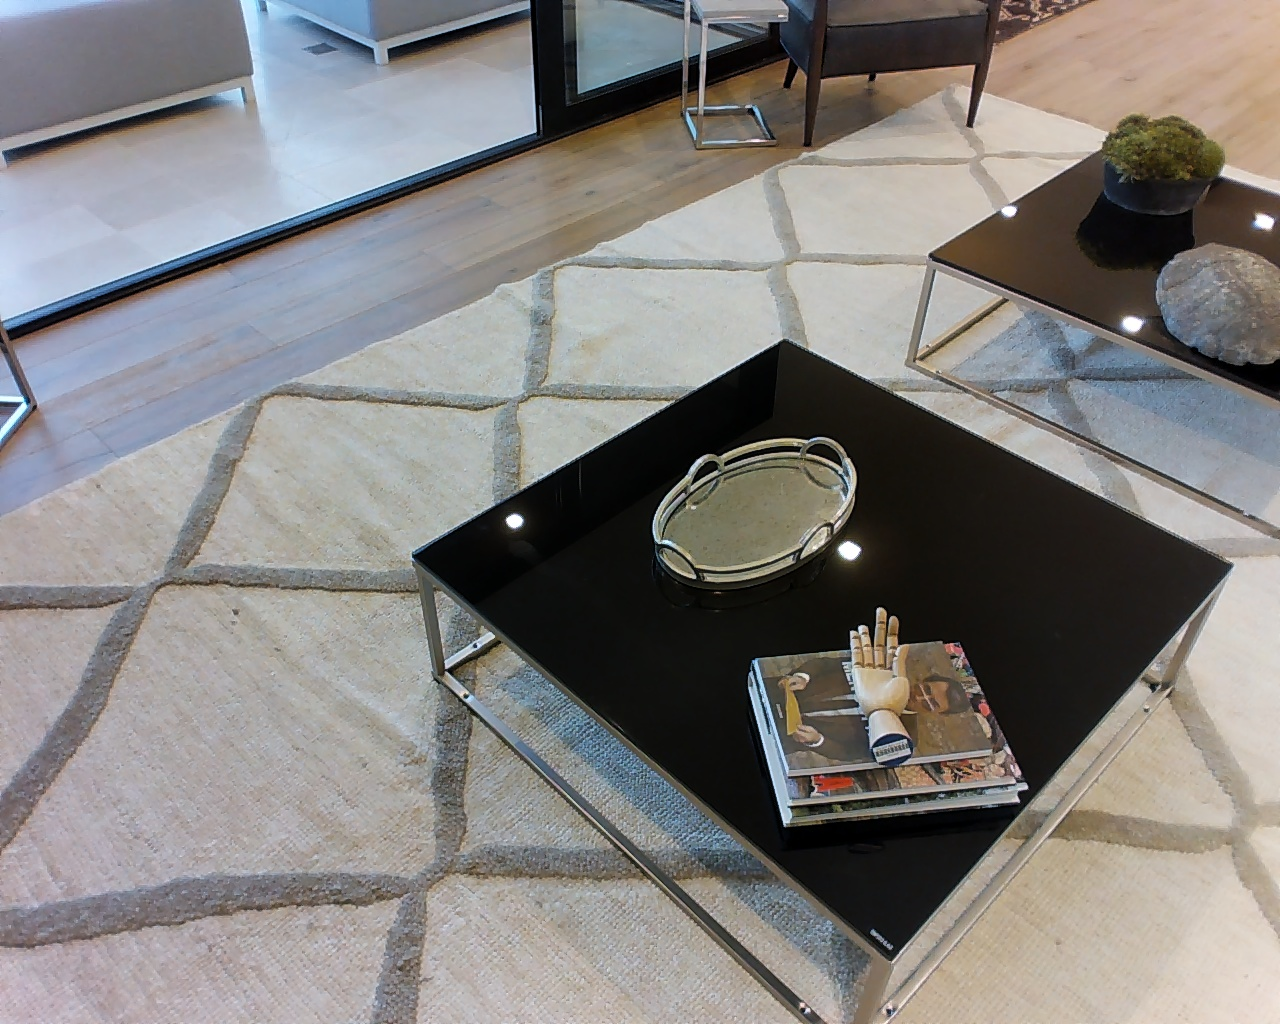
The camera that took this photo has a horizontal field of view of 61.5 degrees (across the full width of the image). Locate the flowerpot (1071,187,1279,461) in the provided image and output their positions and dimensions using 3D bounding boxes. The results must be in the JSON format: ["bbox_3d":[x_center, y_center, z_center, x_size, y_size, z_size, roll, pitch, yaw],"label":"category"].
[{"bbox_3d":[1.330,-0.440,2.420,0.460,0.330,0.430,-31,51,-31],"label":"flowerpot"}]

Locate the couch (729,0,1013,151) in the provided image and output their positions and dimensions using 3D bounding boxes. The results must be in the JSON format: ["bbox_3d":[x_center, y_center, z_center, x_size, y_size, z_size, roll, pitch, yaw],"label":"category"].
[{"bbox_3d":[0.840,-1.940,4.010,0.700,0.800,0.840,-12,43,-14],"label":"couch"}]
